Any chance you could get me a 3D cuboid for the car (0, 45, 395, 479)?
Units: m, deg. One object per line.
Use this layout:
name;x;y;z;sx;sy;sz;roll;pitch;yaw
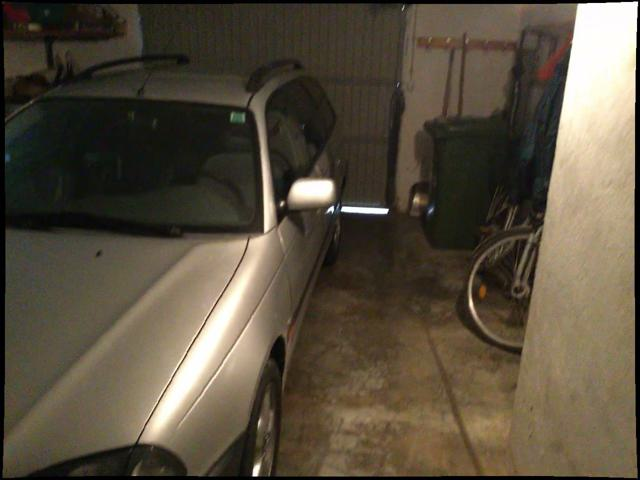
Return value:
car;-0.779;-0.080;2.920;1.978;1.631;3.680;6;19;9
